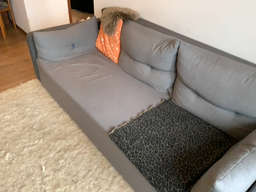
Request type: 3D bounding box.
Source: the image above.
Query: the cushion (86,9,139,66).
[{"bbox_3d":[-0.170,-0.620,2.190,0.270,0.390,0.500,-25,46,-33],"label":"cushion"}]

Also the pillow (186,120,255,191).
[{"bbox_3d":[0.570,0.320,1.030,0.580,0.270,0.170,-21,44,-30],"label":"pillow"}]

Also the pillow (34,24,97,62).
[{"bbox_3d":[-0.610,-0.540,2.120,0.590,0.260,0.140,-27,70,-44],"label":"pillow"}]
